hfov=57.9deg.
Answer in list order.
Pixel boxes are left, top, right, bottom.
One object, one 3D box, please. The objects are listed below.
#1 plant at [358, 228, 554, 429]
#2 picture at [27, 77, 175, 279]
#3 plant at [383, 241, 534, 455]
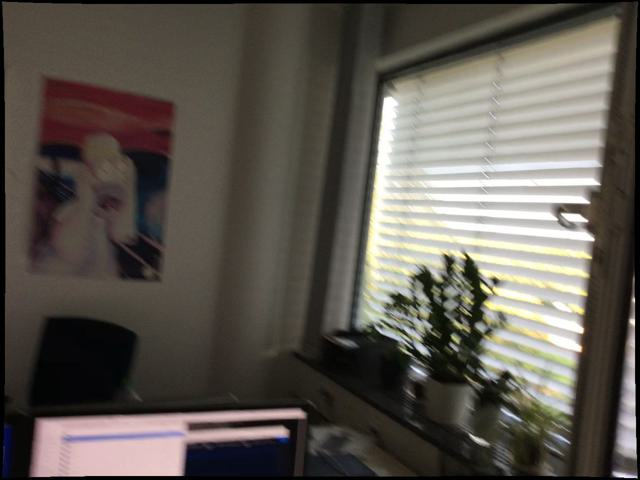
[{"bbox_3d":[0.549,0.330,2.470,0.480,0.691,0.600,3,4,-27],"label":"plant"},{"bbox_3d":[-1.049,-0.270,2.790,0.610,0.901,0.100,3,4,-27],"label":"picture"},{"bbox_3d":[0.539,0.400,2.310,0.360,0.741,0.370,3,4,-27],"label":"plant"}]
